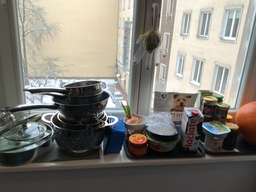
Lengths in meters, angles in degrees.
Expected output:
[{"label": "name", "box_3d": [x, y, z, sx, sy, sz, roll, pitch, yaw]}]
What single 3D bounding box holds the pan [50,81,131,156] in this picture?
[{"label": "pan", "box_3d": [-0.170, 0.100, 1.030, 0.330, 0.280, 0.240, 2, 19, -4]}]
